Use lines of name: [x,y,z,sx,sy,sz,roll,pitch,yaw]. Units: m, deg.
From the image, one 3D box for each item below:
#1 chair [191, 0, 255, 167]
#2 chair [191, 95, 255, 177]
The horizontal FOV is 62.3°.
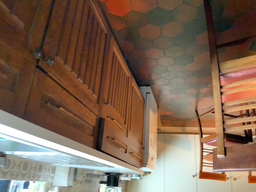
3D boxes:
chair: [0.670,-0.100,1.140,0.490,0.880,0.500,-9,155,29]
chair: [1.110,0.510,2.580,0.420,0.870,0.480,11,157,-16]
